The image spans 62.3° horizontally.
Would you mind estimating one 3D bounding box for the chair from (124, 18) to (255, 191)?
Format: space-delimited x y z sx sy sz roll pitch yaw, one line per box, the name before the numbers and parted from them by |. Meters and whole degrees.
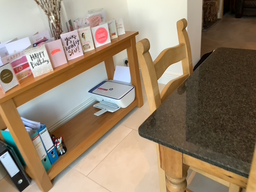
chair | 0.370 0.160 1.110 0.470 0.980 0.470 15 38 34
